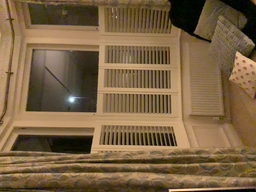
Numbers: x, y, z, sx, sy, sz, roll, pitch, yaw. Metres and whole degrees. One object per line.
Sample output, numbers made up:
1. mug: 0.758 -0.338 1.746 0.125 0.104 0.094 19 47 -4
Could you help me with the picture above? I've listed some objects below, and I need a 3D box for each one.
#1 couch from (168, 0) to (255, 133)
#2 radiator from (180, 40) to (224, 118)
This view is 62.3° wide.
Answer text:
1. couch: 0.920 -0.450 1.930 0.640 0.870 1.420 94 177 -61
2. radiator: 0.990 -0.240 2.870 0.090 0.500 1.050 99 172 -78
